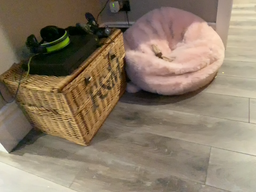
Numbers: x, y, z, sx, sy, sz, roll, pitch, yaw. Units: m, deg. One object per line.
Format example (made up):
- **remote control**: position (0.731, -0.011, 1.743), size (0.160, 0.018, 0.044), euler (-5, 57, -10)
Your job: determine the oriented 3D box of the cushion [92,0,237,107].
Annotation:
- **cushion**: position (0.270, -0.340, 1.360), size (0.690, 0.370, 0.650), euler (10, 43, 23)
